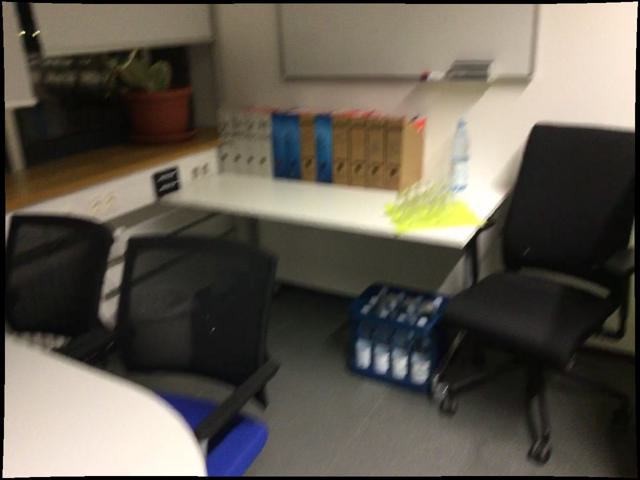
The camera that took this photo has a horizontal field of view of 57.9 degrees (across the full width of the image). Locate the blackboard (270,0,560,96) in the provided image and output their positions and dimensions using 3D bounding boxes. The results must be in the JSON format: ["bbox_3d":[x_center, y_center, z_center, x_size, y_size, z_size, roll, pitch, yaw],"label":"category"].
[{"bbox_3d":[0.340,-1.141,2.410,1.249,1.001,0.150,10,25,29],"label":"blackboard"}]

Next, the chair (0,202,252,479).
[{"bbox_3d":[-0.799,0.440,1.730,0.929,0.861,0.610,10,25,29],"label":"chair"}]

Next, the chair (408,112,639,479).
[{"bbox_3d":[0.829,0.120,2.160,0.739,1.021,0.790,10,25,29],"label":"chair"}]
